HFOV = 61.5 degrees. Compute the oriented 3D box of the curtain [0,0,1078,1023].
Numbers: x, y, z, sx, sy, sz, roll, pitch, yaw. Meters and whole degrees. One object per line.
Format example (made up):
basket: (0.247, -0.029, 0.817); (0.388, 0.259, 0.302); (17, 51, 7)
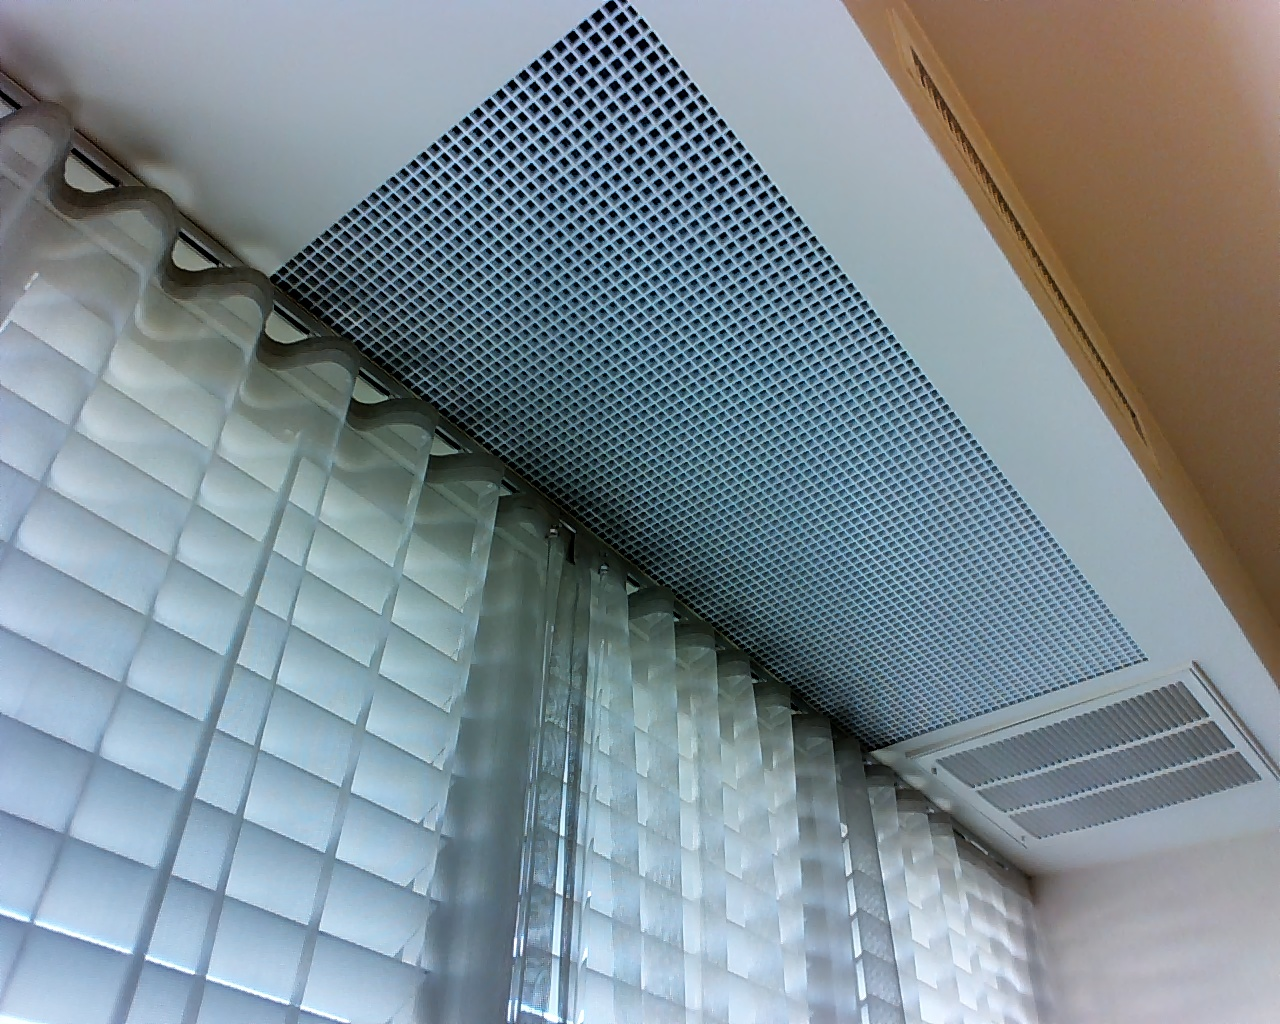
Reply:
curtain: (-0.020, 0.900, 1.100); (0.210, 2.100, 3.090); (-24, -47, 28)
